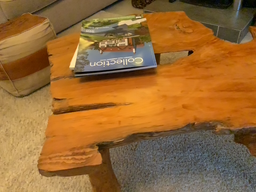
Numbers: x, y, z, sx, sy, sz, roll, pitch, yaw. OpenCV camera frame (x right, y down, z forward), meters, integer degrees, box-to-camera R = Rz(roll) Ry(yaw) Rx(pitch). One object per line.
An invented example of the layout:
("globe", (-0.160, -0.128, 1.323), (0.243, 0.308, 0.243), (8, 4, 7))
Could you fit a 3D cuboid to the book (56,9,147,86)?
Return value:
("book", (-0.080, -0.190, 0.750), (0.260, 0.060, 0.360), (-5, 45, 3))
